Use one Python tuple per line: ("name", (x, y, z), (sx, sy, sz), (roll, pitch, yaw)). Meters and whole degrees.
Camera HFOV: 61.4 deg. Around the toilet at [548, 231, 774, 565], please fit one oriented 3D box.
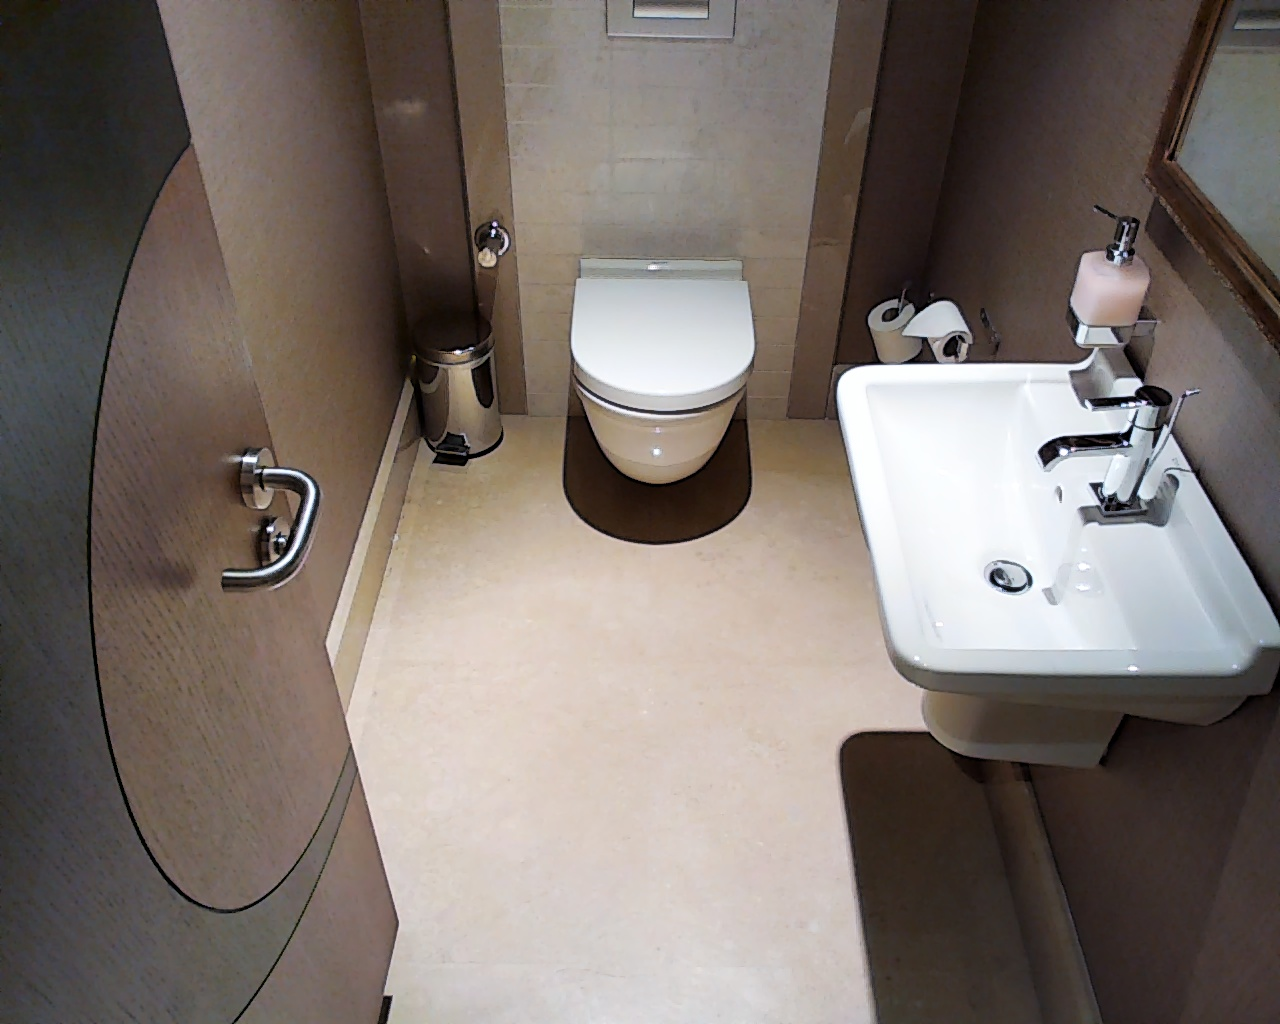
("toilet", (0.040, -0.260, 2.370), (0.420, 0.480, 0.570), (1, 42, 0))
